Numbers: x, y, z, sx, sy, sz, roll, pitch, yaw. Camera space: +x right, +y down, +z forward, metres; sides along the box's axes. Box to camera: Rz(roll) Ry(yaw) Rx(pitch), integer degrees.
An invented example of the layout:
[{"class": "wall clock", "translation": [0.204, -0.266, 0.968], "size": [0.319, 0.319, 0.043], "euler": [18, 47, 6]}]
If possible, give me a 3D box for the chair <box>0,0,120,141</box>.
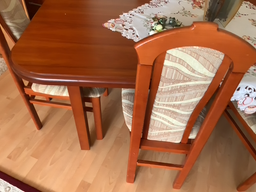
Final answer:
[{"class": "chair", "translation": [-0.360, -0.230, 1.260], "size": [0.580, 1.020, 0.480], "euler": [3, 46, -1]}]
